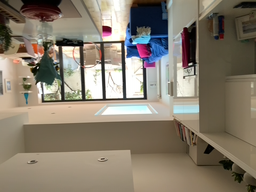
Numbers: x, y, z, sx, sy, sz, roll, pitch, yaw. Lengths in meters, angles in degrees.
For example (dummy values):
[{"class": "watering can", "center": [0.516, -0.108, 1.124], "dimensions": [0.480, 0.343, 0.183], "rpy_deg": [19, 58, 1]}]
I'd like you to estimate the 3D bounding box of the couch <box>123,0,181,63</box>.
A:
[{"class": "couch", "center": [0.440, -1.410, 5.240], "dimensions": [1.080, 0.900, 2.500], "rpy_deg": [-2, -176, -1]}]
